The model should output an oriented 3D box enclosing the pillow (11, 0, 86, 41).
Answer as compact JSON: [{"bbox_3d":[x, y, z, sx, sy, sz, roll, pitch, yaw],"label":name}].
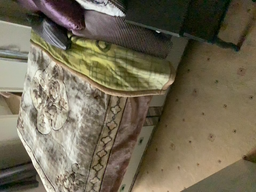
[{"bbox_3d":[-0.560,-0.580,1.520,0.360,0.340,0.220,27,133,38],"label":"pillow"}]
